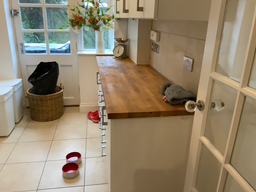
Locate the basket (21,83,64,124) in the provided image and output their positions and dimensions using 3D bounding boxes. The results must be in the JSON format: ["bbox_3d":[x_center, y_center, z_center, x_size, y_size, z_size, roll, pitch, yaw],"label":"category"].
[{"bbox_3d":[-1.230,0.090,3.150,0.450,0.410,0.550,-1,21,-8],"label":"basket"}]

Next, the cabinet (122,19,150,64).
[{"bbox_3d":[0.080,-0.730,2.740,0.200,0.490,0.670,-2,21,-10],"label":"cabinet"}]
